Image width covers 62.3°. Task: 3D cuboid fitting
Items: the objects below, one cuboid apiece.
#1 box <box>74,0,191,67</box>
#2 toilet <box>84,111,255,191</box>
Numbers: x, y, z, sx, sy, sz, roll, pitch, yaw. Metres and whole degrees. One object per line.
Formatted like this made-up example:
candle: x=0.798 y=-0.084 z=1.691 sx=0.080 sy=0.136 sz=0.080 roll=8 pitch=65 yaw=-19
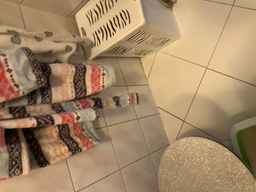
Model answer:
box: x=0.040 y=-0.380 z=1.150 sx=0.370 sy=0.460 sz=0.280 roll=-26 pitch=78 yaw=36
toilet: x=0.330 y=0.470 z=0.820 sx=0.420 sy=0.740 sz=0.640 roll=-25 pitch=78 yaw=36
